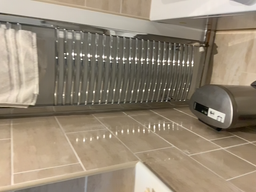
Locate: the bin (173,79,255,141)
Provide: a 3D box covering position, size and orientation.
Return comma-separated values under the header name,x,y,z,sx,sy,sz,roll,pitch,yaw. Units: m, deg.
name,x,y,z,sx,sy,sz,roll,pitch,yaw
bin,0.570,0.050,1.210,0.330,0.480,0.230,29,116,58
